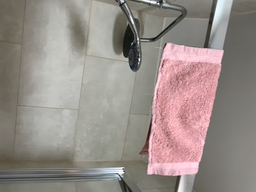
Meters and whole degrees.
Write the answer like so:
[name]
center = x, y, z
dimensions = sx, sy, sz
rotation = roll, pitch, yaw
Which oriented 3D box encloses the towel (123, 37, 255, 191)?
[towel]
center = 0.130, 0.050, 0.510
dimensions = 0.120, 0.200, 0.340
rotation = -140, -122, -66
